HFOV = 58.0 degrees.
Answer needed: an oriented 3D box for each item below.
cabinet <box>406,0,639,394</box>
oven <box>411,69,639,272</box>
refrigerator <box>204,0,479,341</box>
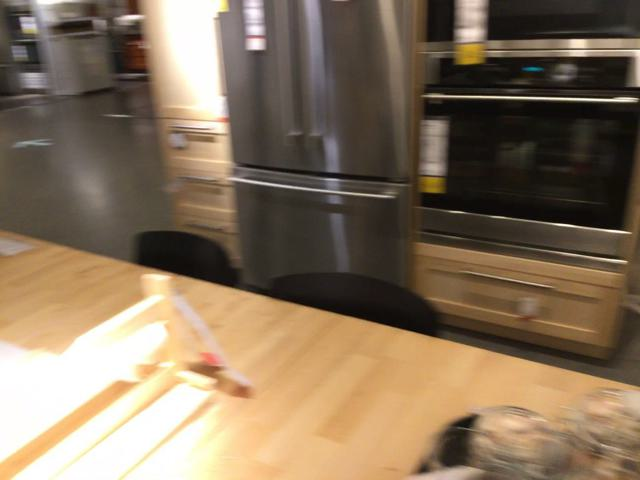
[{"bbox_3d":[0.840,-0.540,2.080,0.860,1.920,0.630,11,26,32],"label":"cabinet"},{"bbox_3d":[0.850,-0.330,2.230,0.780,0.560,0.650,11,26,32],"label":"oven"},{"bbox_3d":[0.130,-0.520,2.570,0.900,1.600,0.700,11,26,32],"label":"refrigerator"}]
